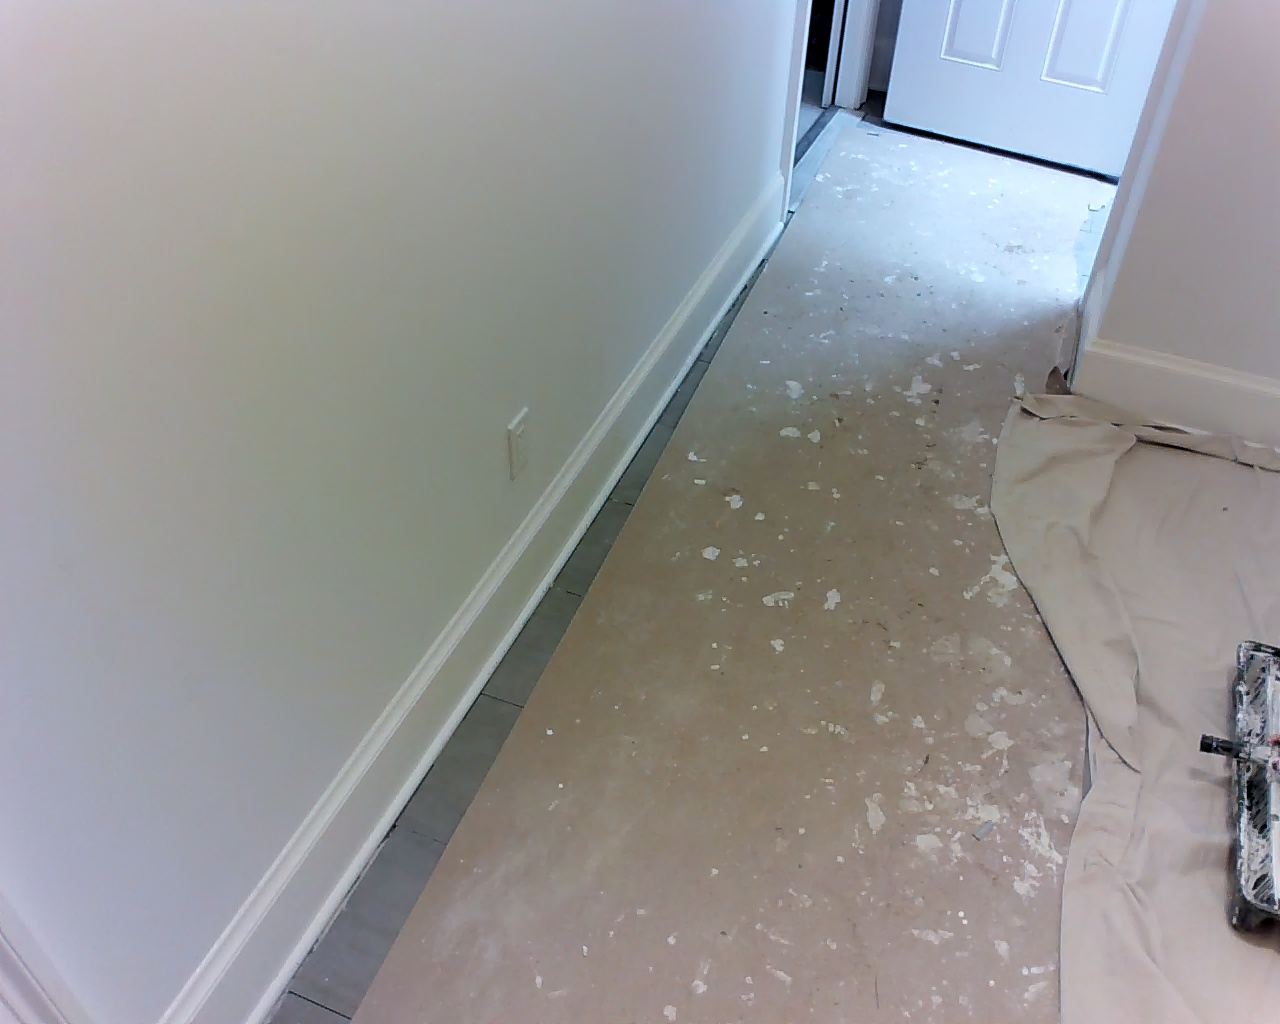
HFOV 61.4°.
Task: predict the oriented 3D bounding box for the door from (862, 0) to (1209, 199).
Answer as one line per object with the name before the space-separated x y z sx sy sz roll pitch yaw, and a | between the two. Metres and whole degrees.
door | 1.300 -2.060 3.170 1.010 2.120 0.060 24 46 23
